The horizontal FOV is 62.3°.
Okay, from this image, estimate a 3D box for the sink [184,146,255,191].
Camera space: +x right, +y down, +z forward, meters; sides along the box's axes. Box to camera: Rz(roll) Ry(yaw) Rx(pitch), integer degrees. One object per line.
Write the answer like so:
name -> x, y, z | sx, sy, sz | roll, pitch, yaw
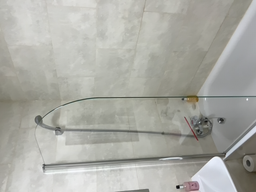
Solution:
sink -> 0.630, 0.680, 1.340 | 0.420, 0.250, 0.570 | 103, 163, -48
